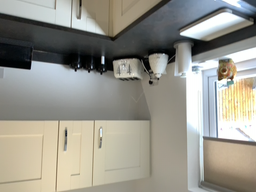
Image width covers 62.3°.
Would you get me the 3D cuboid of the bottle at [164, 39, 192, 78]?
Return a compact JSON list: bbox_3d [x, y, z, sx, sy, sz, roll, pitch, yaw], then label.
[{"bbox_3d":[0.410,-0.300,1.760,0.120,0.270,0.200,3,174,-25],"label":"bottle"}]
